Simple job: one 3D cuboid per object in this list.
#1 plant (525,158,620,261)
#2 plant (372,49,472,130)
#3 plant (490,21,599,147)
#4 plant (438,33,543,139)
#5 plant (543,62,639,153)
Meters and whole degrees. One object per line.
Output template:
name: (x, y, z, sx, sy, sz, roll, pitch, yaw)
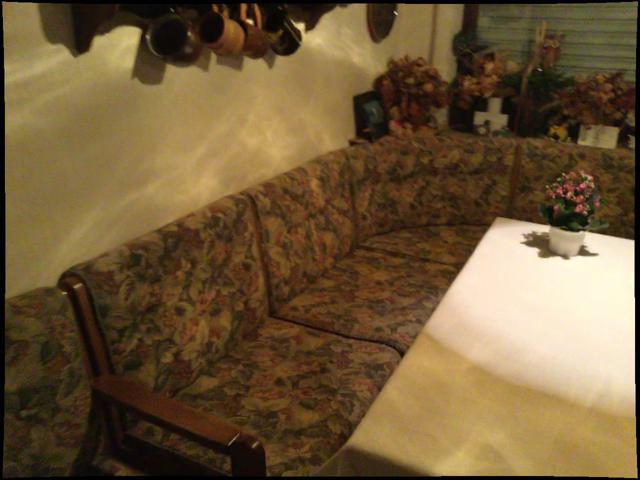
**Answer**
plant: (0.779, -0.100, 1.790, 0.210, 0.240, 0.180, 14, 27, 25)
plant: (0.499, -0.741, 2.790, 0.310, 0.290, 0.480, 14, 27, 25)
plant: (1.059, -0.751, 2.740, 0.360, 0.510, 0.310, 14, 27, 25)
plant: (0.839, -0.771, 2.850, 0.370, 0.430, 0.350, 14, 27, 25)
plant: (1.269, -0.621, 2.660, 0.360, 0.320, 0.320, 14, 27, 25)
